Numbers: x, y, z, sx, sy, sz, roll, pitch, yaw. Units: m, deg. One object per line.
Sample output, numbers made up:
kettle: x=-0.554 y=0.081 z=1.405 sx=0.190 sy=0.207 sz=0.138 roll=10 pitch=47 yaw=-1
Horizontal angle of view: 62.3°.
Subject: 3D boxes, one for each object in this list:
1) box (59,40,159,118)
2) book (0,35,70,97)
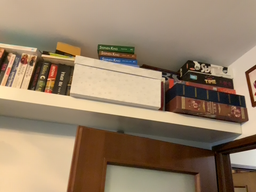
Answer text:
box: x=-0.090 y=-0.060 z=1.010 sx=0.400 sy=0.210 sz=0.270 roll=8 pitch=-24 yaw=-10
book: x=-0.670 y=-0.170 z=0.890 sx=0.800 sy=0.210 sz=0.080 roll=10 pitch=-24 yaw=-13
